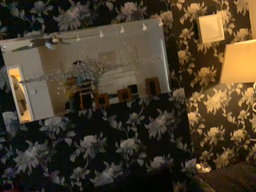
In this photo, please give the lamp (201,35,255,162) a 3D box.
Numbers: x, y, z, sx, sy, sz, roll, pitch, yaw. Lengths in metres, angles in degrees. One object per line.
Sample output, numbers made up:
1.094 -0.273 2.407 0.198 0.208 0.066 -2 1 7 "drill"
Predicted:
1.160 -0.030 1.990 0.530 1.010 0.590 -12 7 -9 "lamp"
